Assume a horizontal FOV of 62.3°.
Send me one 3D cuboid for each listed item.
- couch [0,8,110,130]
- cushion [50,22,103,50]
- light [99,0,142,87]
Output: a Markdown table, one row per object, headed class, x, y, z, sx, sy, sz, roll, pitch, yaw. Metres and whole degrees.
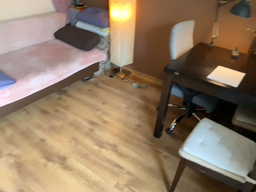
| class | x | y | z | sx | sy | sz | roll | pitch | yaw |
| --- | --- | --- | --- | --- | --- | --- | --- | --- | --- |
| couch | -1.260 | -0.400 | 2.410 | 0.980 | 0.750 | 2.110 | 24 | 37 | 26 |
| cushion | -0.710 | -0.850 | 2.940 | 0.680 | 0.160 | 0.320 | 23 | 37 | 25 |
| light | -0.110 | -0.930 | 2.840 | 0.380 | 1.570 | 0.380 | 22 | 36 | 24 |
